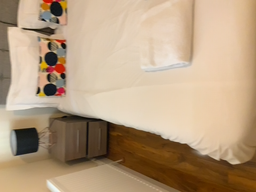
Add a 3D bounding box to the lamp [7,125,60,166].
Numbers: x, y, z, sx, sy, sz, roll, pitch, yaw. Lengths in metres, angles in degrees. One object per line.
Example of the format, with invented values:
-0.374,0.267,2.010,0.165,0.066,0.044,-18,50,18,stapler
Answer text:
-0.940,0.470,2.110,0.320,0.410,0.280,4,93,49,lamp
